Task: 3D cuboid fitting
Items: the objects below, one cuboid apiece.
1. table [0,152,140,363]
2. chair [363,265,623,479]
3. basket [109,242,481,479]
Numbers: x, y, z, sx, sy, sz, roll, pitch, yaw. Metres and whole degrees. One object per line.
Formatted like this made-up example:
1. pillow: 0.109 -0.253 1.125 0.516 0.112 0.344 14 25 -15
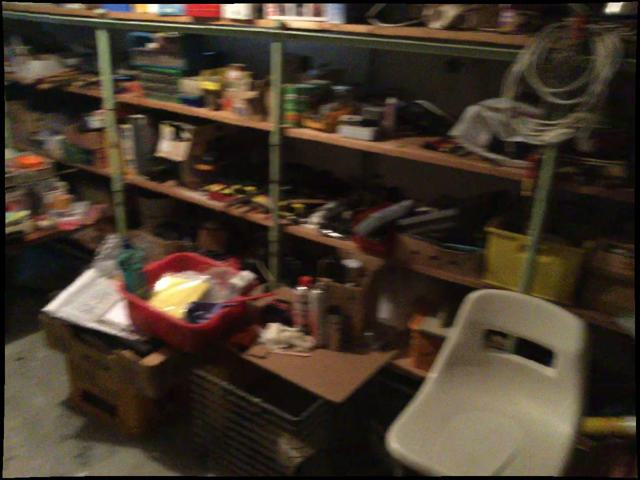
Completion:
1. table: -1.618 -0.010 2.880 1.269 0.570 0.660 17 30 31
2. chair: 0.450 0.390 1.520 0.480 0.380 0.480 17 30 31
3. basket: -0.090 0.470 2.090 1.069 0.460 0.710 17 30 31
